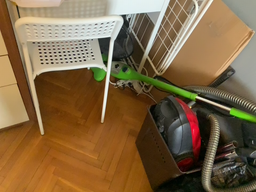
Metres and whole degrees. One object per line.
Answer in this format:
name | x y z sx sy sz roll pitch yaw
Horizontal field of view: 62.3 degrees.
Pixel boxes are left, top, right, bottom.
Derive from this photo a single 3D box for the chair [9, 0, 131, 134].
chair | -0.310 -0.180 1.090 0.390 0.730 0.410 -9 58 -20
